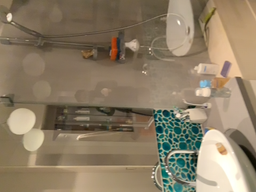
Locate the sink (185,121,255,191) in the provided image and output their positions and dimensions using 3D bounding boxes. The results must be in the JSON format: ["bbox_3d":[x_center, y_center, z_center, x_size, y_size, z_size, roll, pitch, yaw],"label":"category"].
[{"bbox_3d":[0.440,0.470,0.930,0.380,0.130,0.610,110,160,-59],"label":"sink"}]
